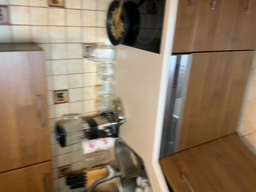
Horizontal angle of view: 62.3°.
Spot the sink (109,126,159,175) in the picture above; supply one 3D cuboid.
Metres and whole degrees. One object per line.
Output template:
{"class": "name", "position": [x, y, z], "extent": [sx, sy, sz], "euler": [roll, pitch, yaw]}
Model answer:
{"class": "sink", "position": [0.030, 0.400, 1.530], "extent": [0.330, 0.170, 0.240], "euler": [-48, 56, 53]}
